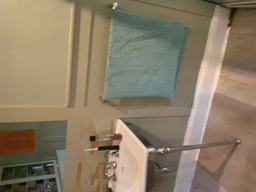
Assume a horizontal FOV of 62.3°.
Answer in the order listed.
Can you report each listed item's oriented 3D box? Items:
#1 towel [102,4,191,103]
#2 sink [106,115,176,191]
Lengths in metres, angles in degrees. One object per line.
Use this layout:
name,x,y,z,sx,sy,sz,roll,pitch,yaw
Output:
towel,0.130,-0.250,1.460,0.060,0.570,0.610,-146,60,-61
sink,0.050,0.550,1.510,0.500,0.190,0.680,-146,60,-61
